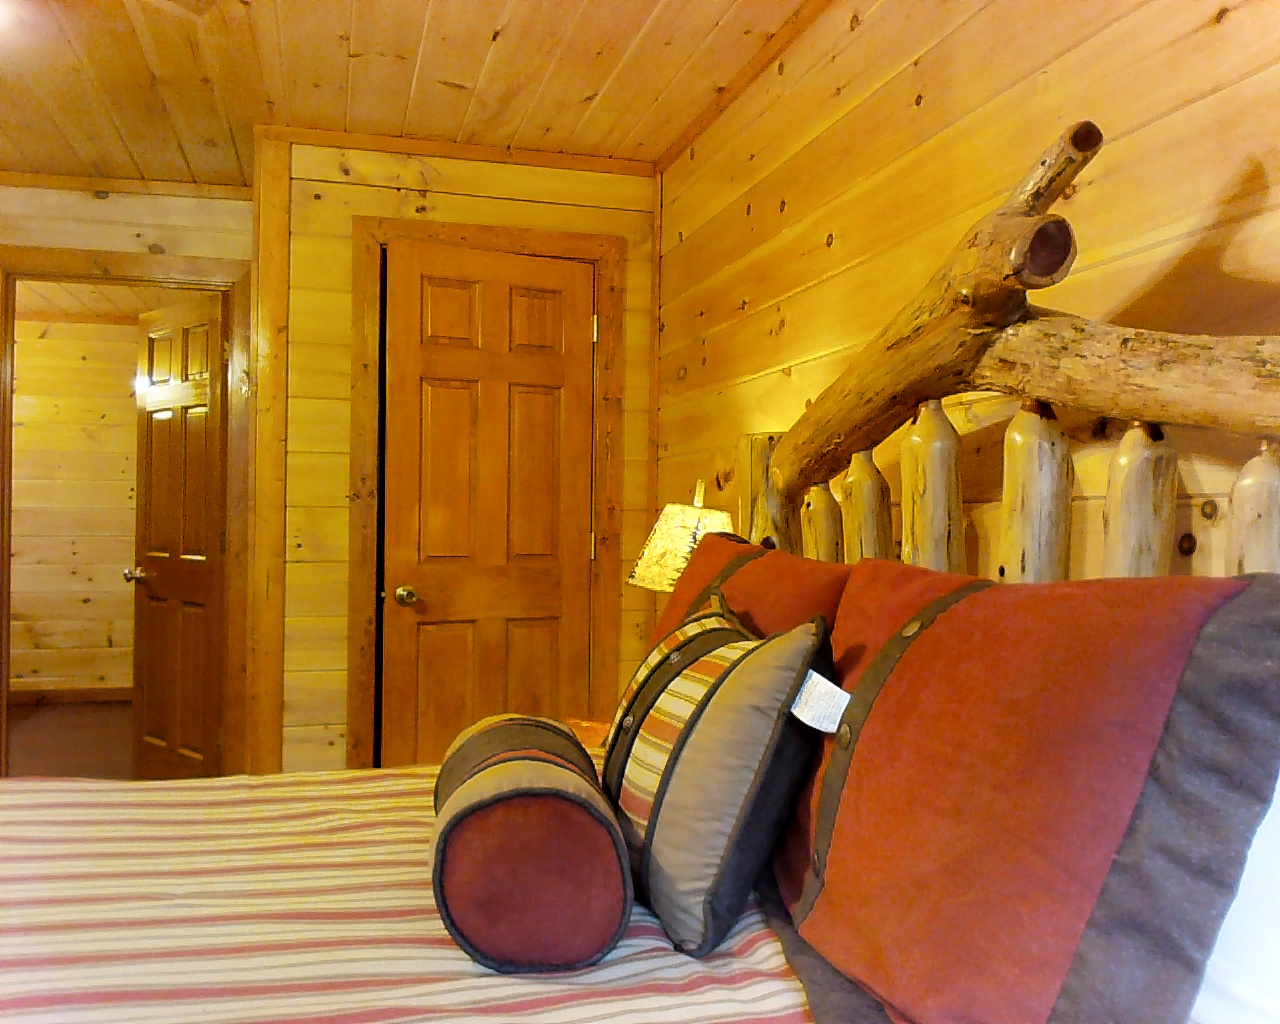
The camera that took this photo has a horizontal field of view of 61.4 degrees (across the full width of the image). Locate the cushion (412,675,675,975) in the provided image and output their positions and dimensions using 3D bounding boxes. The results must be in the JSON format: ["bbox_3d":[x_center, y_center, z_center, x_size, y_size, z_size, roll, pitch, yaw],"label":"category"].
[{"bbox_3d":[-0.150,0.340,1.320,0.250,0.180,0.590,0,1,-12],"label":"cushion"}]

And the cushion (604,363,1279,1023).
[{"bbox_3d":[0.220,0.240,1.430,0.220,0.490,1.450,1,23,-14],"label":"cushion"}]
